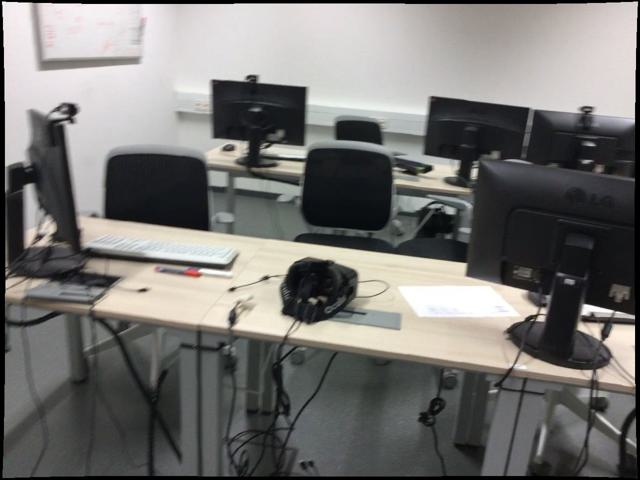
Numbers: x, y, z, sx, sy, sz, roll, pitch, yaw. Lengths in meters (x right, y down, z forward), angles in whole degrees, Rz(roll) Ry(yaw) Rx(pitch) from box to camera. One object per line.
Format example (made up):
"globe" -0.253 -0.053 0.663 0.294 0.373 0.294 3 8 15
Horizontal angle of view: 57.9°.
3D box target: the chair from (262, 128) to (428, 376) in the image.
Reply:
"chair" 0.110 0.010 2.750 0.639 0.911 0.780 4 21 4

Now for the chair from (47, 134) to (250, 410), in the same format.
"chair" -0.689 0.080 2.490 0.669 0.931 0.720 -3 22 -14
